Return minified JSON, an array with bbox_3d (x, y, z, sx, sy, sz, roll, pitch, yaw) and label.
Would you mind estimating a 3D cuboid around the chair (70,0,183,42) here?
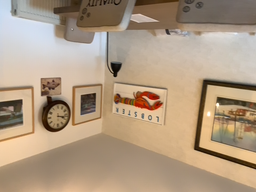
[{"bbox_3d":[0.050,-0.880,1.380,0.430,0.960,0.690,11,-167,32],"label":"chair"}]
